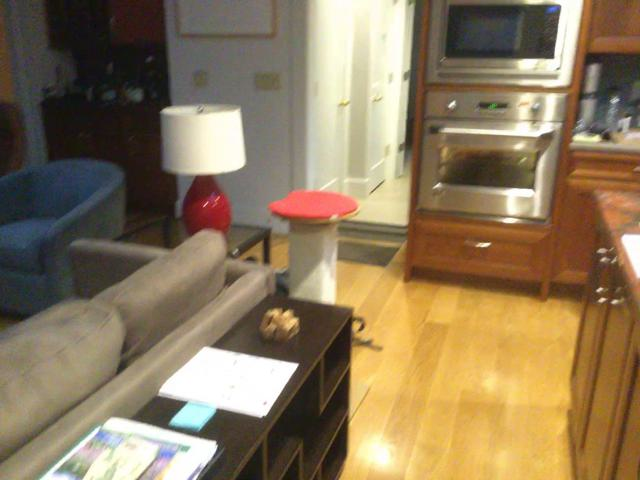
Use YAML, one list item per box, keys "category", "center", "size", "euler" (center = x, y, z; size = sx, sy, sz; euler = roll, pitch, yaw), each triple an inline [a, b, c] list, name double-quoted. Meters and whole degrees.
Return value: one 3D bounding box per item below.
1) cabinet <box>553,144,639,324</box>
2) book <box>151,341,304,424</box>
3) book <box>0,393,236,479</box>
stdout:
- category: "cabinet"
  center: [1.850, 0.010, 2.790]
  size: [1.260, 0.880, 0.140]
  euler: [5, 21, 19]
- category: "book"
  center: [-0.220, 0.340, 1.420]
  size: [0.300, 0.040, 0.220]
  euler: [5, 21, 19]
- category: "book"
  center: [-0.380, 0.440, 1.030]
  size: [0.310, 0.080, 0.380]
  euler: [5, 21, 19]
